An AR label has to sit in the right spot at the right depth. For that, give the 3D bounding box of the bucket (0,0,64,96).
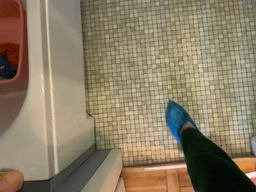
[{"bbox_3d":[-0.580,-0.220,1.030,0.400,0.300,0.390,-7,87,3],"label":"bucket"}]
